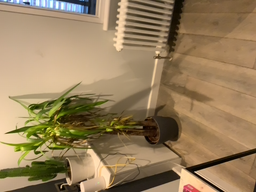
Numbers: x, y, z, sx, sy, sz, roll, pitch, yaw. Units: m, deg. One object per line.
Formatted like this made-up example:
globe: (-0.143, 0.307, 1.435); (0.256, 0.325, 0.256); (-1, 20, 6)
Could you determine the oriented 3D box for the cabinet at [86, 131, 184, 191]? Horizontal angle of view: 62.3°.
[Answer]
cabinet: (0.060, 0.640, 2.080); (0.490, 0.790, 0.320); (27, 115, 55)
